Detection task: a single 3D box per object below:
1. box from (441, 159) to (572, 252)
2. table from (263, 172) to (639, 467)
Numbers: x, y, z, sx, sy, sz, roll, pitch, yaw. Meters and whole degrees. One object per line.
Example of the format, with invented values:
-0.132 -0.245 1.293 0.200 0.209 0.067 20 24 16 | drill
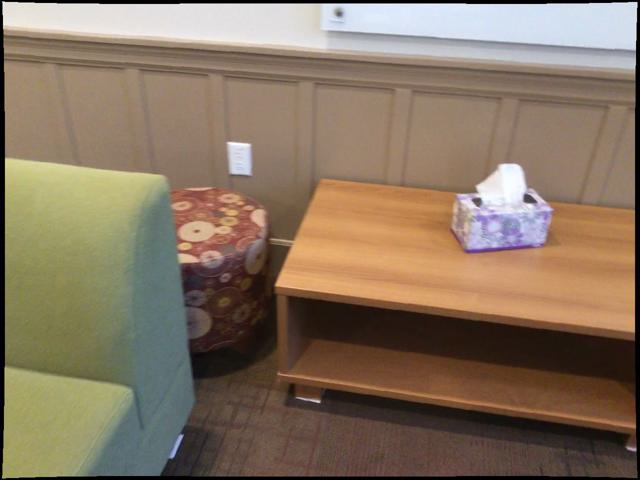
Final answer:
0.509 -0.100 1.610 0.269 0.170 0.190 -4 34 -7 | box
0.459 0.190 1.750 1.107 0.441 0.650 7 34 9 | table
